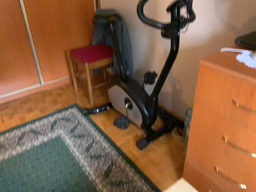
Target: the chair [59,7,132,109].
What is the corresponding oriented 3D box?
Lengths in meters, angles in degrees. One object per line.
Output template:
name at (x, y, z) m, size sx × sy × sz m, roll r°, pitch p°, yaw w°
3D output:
chair at (-0.310, -0.410, 2.180) m, size 0.470 × 0.830 × 0.530 m, roll -22°, pitch 37°, yaw -30°
